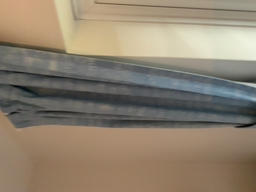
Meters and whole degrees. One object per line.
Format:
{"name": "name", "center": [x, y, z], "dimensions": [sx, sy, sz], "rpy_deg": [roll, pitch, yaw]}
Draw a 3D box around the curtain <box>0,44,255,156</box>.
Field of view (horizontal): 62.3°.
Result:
{"name": "curtain", "center": [0.160, 0.070, 0.770], "dimensions": [0.510, 1.580, 0.130], "rpy_deg": [96, 175, -57]}
